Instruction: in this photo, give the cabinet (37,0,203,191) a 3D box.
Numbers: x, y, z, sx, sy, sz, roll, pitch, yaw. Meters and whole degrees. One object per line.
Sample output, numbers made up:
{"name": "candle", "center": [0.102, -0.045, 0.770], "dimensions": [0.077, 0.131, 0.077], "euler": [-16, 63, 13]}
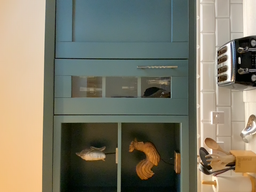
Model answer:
{"name": "cabinet", "center": [-0.040, -0.030, 1.280], "dimensions": [0.340, 0.850, 1.360], "euler": [89, -179, -88]}
